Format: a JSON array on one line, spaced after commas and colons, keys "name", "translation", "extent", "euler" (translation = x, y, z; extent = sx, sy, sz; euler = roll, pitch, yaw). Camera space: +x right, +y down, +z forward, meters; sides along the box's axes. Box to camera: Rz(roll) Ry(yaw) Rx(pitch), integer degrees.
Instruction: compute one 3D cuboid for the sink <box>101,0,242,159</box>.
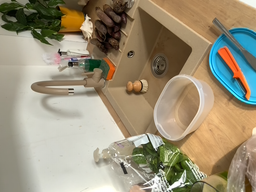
[{"name": "sink", "translation": [0.110, -0.070, 0.860], "extent": [0.370, 0.170, 0.510], "euler": [53, 133, 37]}]
